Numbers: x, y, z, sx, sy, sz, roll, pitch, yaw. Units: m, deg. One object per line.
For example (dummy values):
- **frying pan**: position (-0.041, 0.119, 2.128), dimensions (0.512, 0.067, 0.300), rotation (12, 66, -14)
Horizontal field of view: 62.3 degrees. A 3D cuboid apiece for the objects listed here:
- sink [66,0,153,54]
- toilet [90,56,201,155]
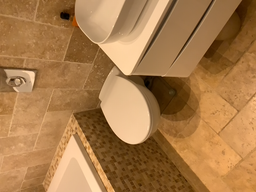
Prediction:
- **sink**: position (-0.060, -0.470, 0.860), dimensions (0.380, 0.120, 0.440), rotation (51, 125, 32)
- **toilet**: position (0.110, 0.040, 1.530), dimensions (0.540, 0.470, 0.370), rotation (51, 125, 32)
